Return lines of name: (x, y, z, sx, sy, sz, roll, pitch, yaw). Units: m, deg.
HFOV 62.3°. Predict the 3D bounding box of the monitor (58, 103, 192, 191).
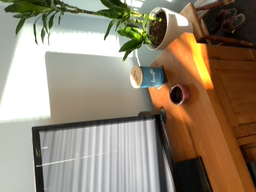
monitor: (0.050, 0.500, 0.930, 0.060, 0.580, 0.950, -43, 55, 54)
